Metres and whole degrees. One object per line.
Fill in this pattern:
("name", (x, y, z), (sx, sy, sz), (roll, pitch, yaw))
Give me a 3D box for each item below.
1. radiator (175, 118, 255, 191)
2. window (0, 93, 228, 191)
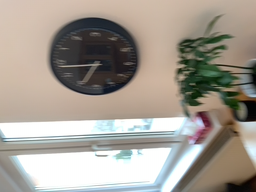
("radiator", (0.960, 0.630, 1.900), (1.310, 0.700, 0.160), (100, 166, -49))
("window", (-0.230, 0.570, 1.830), (1.540, 1.550, 0.180), (99, 167, -47))
